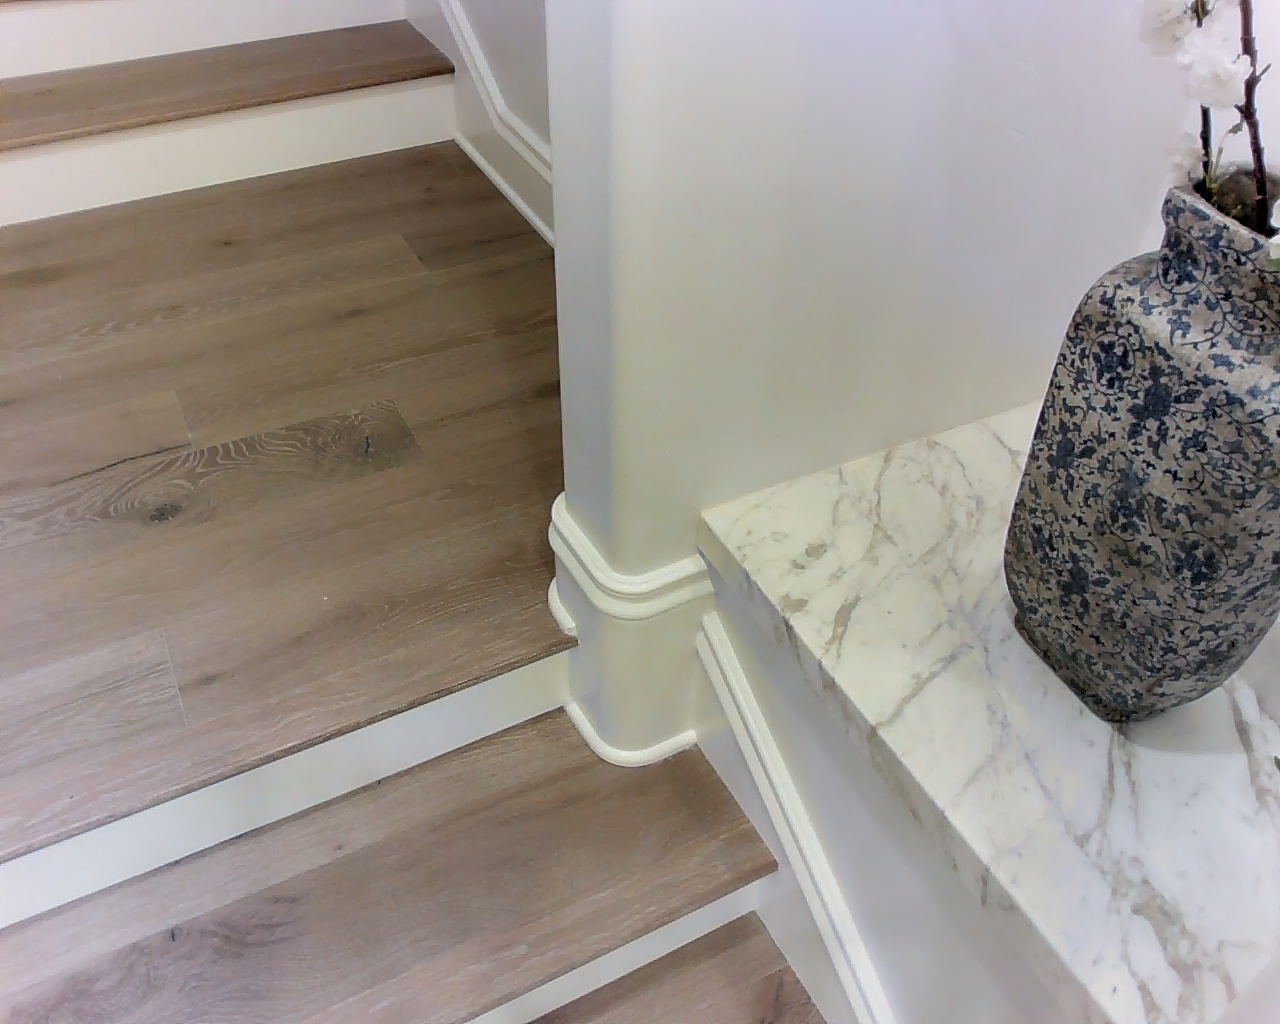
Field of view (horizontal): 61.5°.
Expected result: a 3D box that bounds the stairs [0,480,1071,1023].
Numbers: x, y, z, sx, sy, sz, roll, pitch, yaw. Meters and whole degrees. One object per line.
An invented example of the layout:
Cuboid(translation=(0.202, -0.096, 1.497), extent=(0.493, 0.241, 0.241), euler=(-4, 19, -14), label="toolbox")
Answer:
Cuboid(translation=(-0.250, 0.640, 1.330), extent=(1.020, 0.780, 0.800), euler=(-19, 47, -21), label="stairs")
